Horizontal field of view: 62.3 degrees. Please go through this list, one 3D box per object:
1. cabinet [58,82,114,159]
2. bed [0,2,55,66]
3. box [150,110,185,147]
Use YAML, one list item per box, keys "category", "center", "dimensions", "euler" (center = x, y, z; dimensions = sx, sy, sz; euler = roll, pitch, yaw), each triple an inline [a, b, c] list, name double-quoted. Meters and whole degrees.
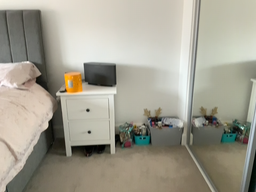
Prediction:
- category: "cabinet"
  center: [-0.390, 0.230, 2.190]
  dimensions: [0.480, 0.670, 0.410]
  euler: [-1, 17, -3]
- category: "bed"
  center: [-1.550, -0.570, 1.990]
  dimensions: [1.590, 0.560, 0.160]
  euler: [-2, 17, -6]
- category: "box"
  center: [0.420, 0.350, 2.340]
  dimensions: [0.320, 0.290, 0.300]
  euler: [0, 17, -1]
